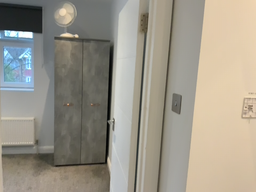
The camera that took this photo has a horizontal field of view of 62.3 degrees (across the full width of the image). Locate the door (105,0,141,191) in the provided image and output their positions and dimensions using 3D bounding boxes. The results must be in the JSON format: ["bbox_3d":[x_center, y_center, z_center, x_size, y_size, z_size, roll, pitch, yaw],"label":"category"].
[{"bbox_3d":[-0.080,0.270,1.680,0.050,1.960,0.720,2,9,-12],"label":"door"}]
